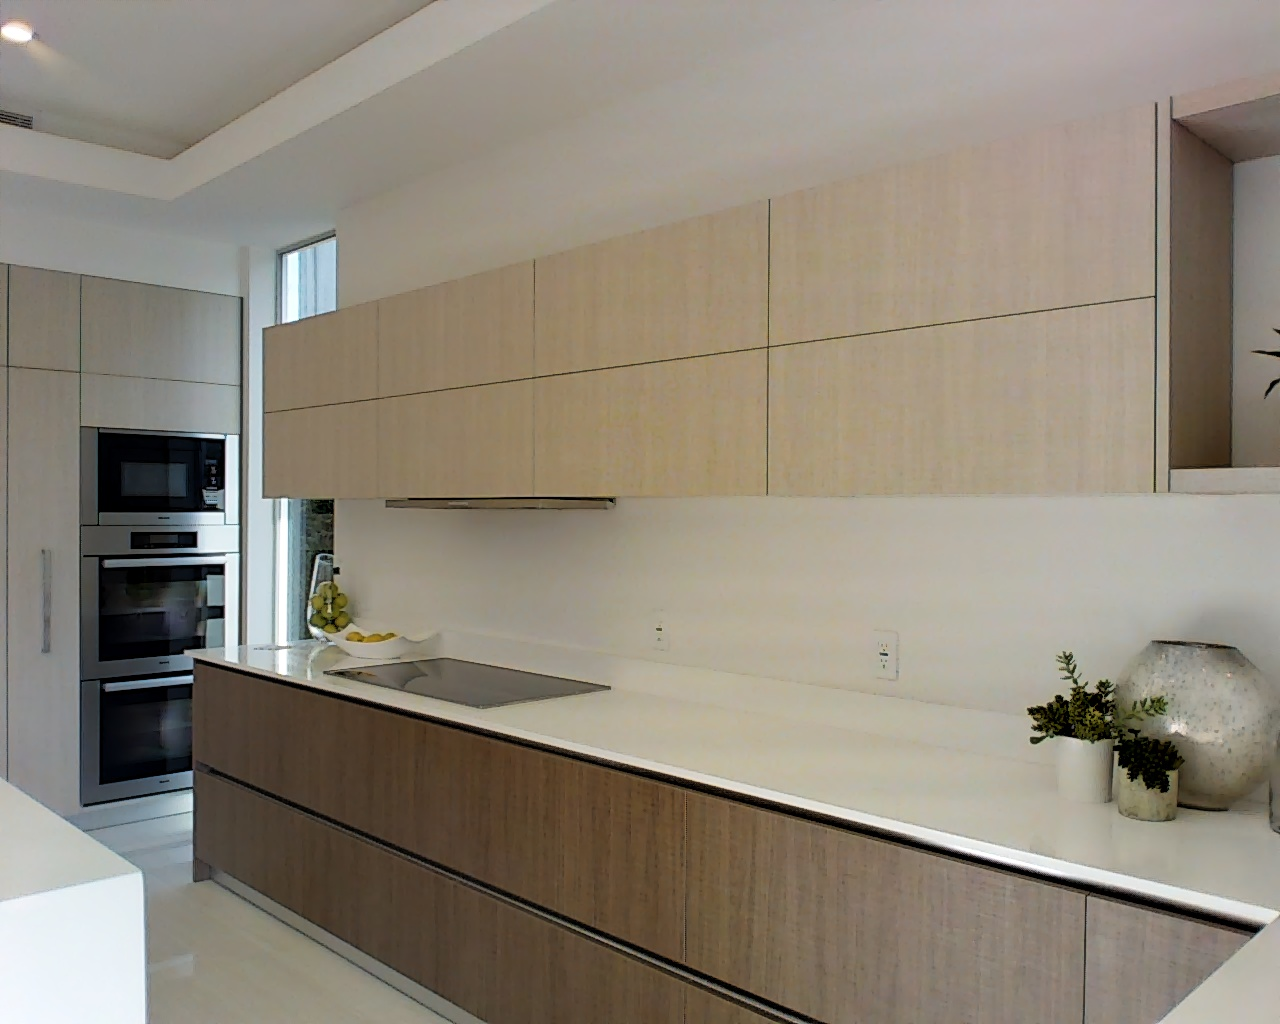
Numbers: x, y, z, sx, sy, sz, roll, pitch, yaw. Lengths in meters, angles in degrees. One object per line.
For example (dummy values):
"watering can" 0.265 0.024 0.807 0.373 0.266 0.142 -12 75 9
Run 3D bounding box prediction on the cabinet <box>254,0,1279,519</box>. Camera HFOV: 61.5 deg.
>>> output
"cabinet" 0.130 -0.460 3.120 0.460 0.910 4.659 0 1 -44

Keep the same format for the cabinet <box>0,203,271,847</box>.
"cabinet" -3.329 0.060 4.270 3.819 2.811 0.130 0 1 -44
